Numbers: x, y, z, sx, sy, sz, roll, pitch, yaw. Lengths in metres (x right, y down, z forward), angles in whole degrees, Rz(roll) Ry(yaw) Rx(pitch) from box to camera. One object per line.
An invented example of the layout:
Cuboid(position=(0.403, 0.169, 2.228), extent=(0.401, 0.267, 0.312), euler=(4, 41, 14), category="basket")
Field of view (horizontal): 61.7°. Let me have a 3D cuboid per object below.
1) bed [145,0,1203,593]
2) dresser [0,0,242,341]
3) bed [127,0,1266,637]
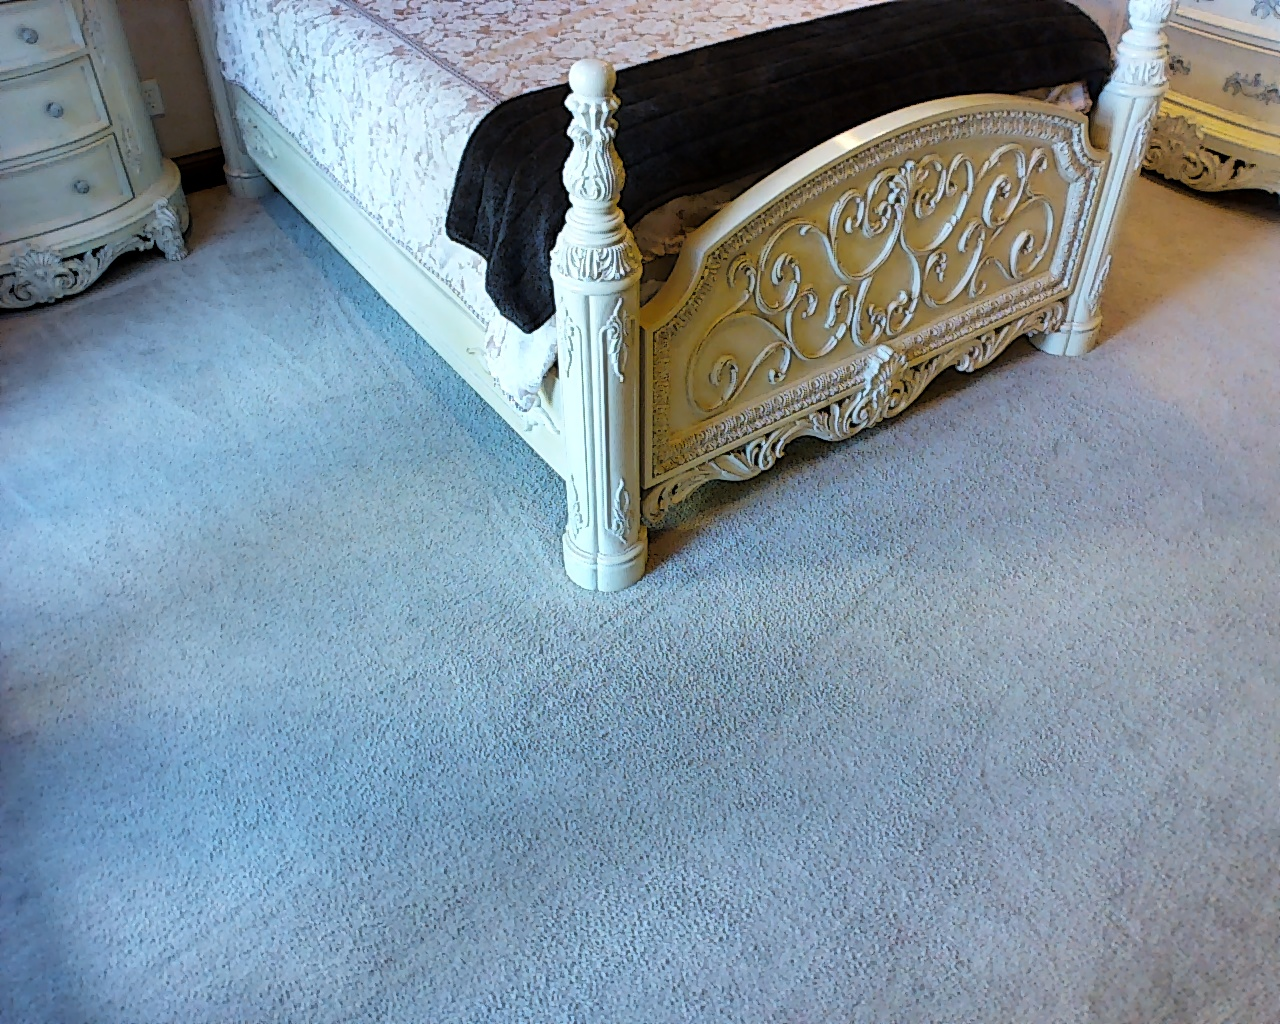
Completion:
Cuboid(position=(-0.080, -1.590, 2.600), extent=(1.800, 2.190, 2.210), euler=(-26, 47, -26), category="bed")
Cuboid(position=(-1.800, -1.020, 2.950), extent=(1.040, 0.900, 0.480), euler=(-26, 47, -26), category="dresser")
Cuboid(position=(-0.070, -1.610, 2.600), extent=(1.880, 2.260, 2.450), euler=(-26, 47, -26), category="bed")
